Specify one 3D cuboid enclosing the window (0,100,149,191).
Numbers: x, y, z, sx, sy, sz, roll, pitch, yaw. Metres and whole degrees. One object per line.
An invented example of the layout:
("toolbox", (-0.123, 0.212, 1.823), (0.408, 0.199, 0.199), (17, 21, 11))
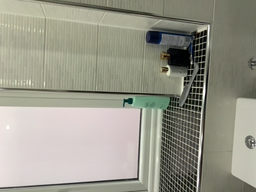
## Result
("window", (-0.400, 0.550, 1.160), (0.130, 1.000, 1.030), (-167, 80, -74))
